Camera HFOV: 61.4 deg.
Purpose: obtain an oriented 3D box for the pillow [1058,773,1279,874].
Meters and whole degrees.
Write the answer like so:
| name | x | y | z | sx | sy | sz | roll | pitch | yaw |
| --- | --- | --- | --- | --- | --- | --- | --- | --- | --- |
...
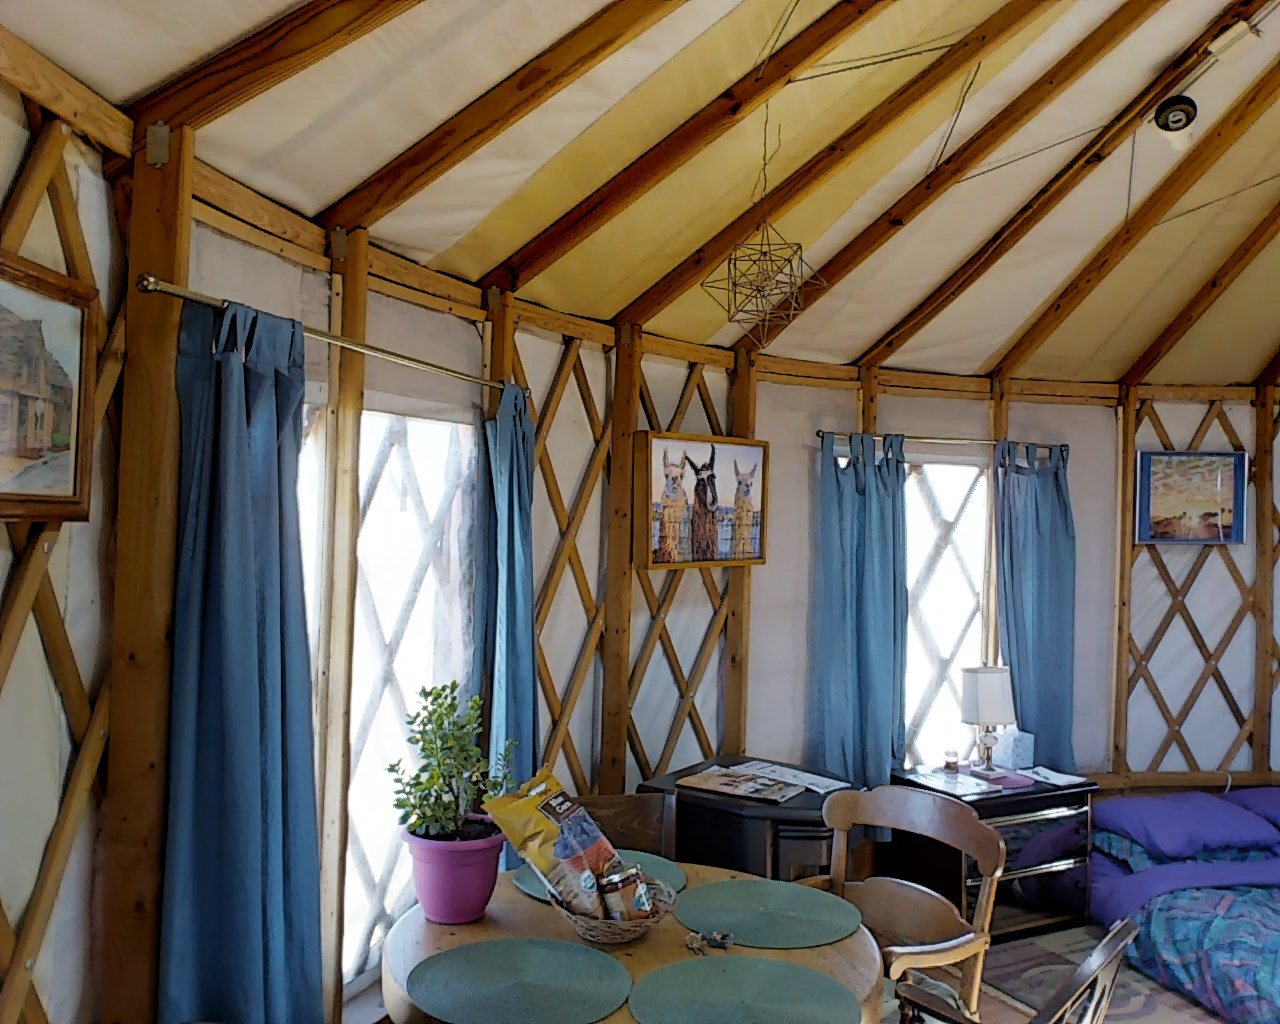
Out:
| name | x | y | z | sx | sy | sz | roll | pitch | yaw |
| --- | --- | --- | --- | --- | --- | --- | --- | --- | --- |
| pillow | 2.510 | 1.250 | 4.360 | 1.390 | 0.210 | 0.650 | 1 | 0 | 1 |
